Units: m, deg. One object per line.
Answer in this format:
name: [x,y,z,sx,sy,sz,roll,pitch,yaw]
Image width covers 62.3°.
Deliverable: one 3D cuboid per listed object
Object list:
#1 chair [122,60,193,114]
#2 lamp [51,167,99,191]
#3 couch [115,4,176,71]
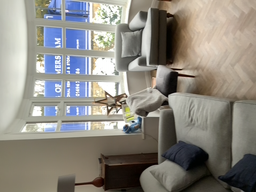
chair: [0.380,-0.130,3.010,0.500,0.810,0.610,-124,38,-67]
lamp: [-0.610,1.020,2.460,0.250,0.510,0.280,-173,84,-76]
couch: [0.250,-0.960,3.860,1.140,0.780,0.900,-170,81,-77]
